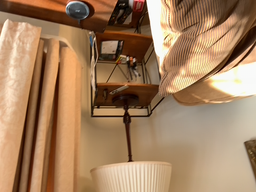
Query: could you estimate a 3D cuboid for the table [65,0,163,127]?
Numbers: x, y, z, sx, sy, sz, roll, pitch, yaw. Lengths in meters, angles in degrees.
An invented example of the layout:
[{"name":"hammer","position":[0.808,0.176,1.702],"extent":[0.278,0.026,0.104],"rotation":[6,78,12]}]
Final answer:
[{"name":"table","position":[-0.090,-0.260,1.460],"extent":[0.530,0.810,0.370],"rotation":[-8,155,6]}]
